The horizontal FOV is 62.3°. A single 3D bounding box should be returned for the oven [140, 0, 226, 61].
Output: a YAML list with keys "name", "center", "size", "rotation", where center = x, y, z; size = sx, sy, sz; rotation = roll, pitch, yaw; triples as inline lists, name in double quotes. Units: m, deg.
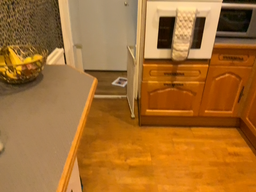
- name: "oven"
  center: [0.450, -0.670, 2.020]
  size: [0.630, 0.480, 0.560]
  rotation: [1, 30, 0]
